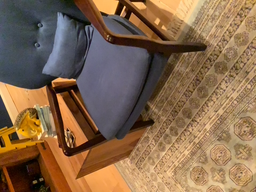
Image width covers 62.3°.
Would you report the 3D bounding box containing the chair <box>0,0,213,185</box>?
[{"bbox_3d":[-0.210,-0.180,1.150,0.770,0.820,0.630,48,128,29],"label":"chair"}]
